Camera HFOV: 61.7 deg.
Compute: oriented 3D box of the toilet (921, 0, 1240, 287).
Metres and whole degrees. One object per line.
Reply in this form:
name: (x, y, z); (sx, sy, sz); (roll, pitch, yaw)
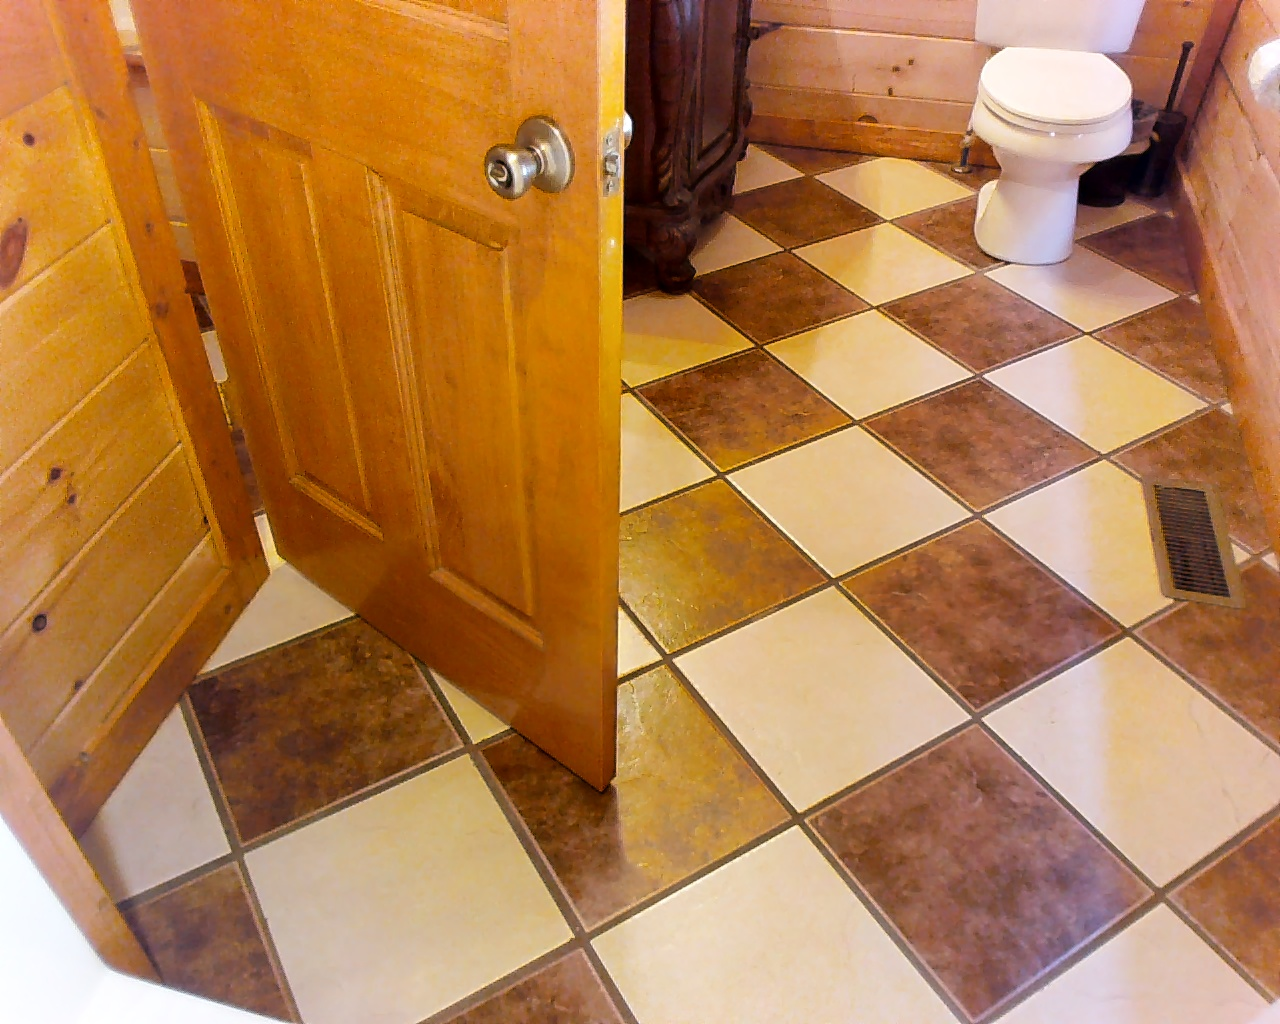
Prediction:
toilet: (1.060, -1.100, 2.700); (0.520, 0.710, 0.760); (10, 42, 10)
